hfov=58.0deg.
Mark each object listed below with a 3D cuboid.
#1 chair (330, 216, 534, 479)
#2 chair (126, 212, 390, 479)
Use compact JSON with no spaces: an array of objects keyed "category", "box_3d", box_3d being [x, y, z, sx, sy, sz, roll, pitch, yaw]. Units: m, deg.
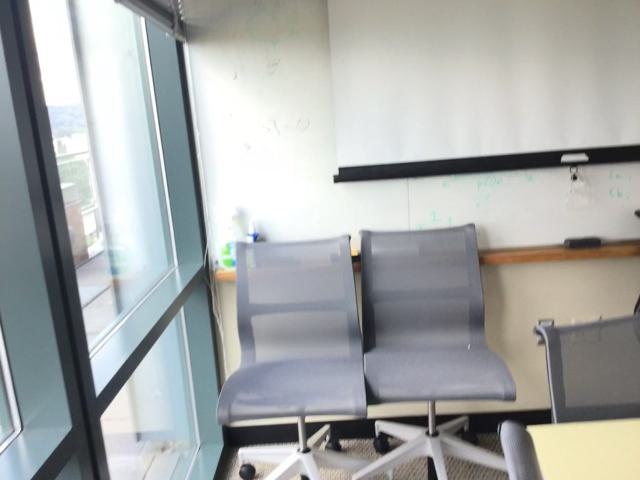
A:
[{"category":"chair","box_3d":[0.410,0.450,2.100,0.560,0.930,0.610,-5,11,10]},{"category":"chair","box_3d":[-0.140,0.490,2.120,0.690,1.020,0.700,-6,11,7]}]
